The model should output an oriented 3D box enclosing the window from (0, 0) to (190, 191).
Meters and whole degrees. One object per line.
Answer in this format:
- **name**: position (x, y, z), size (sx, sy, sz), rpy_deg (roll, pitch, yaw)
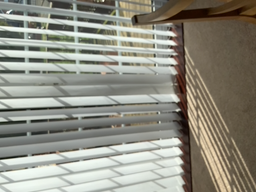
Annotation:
- **window**: position (-0.570, 0.060, 1.480), size (0.160, 2.220, 2.340), rpy_deg (166, 101, -65)
